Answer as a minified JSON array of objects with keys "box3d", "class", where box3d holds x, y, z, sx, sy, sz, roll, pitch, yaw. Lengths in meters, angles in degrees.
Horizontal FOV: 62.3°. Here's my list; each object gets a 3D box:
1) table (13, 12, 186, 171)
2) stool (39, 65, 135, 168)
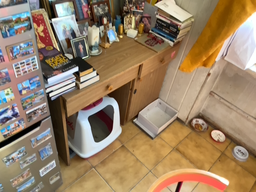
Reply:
[{"box3d":[-0.170,-0.090,1.670,1.030,0.750,0.530,-30,56,-34],"class":"table"},{"box3d":[-0.310,0.140,1.640,0.470,0.450,0.470,-30,56,-34],"class":"stool"}]
